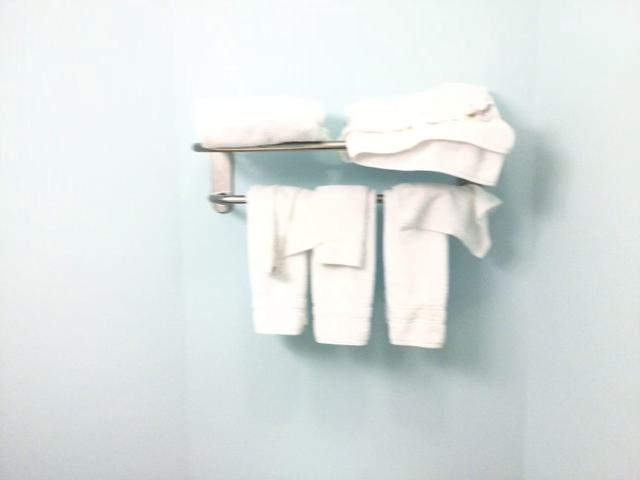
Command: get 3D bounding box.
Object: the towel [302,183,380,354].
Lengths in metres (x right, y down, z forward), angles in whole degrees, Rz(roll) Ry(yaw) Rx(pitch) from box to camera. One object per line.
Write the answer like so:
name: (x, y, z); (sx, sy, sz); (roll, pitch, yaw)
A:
towel: (0.050, 0.060, 1.240); (0.150, 0.350, 0.100); (-1, 13, 5)

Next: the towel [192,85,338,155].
towel: (-0.110, -0.230, 1.120); (0.260, 0.110, 0.130); (-5, 7, -12)

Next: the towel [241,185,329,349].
towel: (-0.080, 0.050, 1.270); (0.150, 0.330, 0.140); (-5, 7, -12)

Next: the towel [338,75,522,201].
towel: (0.210, -0.220, 1.190); (0.310, 0.130, 0.290); (-15, 17, 9)

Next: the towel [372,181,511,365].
towel: (0.260, 0.060, 1.250); (0.250, 0.360, 0.130); (-5, 7, -12)
